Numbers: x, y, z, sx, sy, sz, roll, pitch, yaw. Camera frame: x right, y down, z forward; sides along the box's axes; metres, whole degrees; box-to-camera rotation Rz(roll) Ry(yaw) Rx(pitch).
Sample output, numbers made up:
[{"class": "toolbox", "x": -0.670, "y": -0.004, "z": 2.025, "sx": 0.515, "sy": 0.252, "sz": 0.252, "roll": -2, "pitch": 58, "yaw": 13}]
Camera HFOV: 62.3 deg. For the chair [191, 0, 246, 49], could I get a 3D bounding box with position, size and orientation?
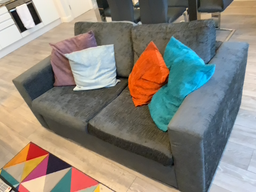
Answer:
[{"class": "chair", "x": 1.130, "y": -1.170, "z": 2.640, "sx": 0.500, "sy": 0.990, "sz": 0.480, "roll": 18, "pitch": 49, "yaw": 37}]
